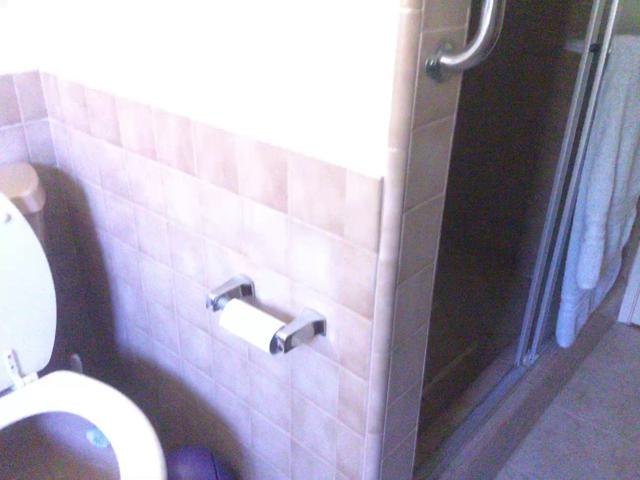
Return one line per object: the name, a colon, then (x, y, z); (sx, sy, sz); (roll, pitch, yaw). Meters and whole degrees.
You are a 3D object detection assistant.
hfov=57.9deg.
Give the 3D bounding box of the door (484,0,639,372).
door: (0.760, -0.220, 1.600); (0.140, 0.960, 0.730); (24, 37, 35)
